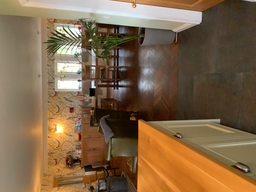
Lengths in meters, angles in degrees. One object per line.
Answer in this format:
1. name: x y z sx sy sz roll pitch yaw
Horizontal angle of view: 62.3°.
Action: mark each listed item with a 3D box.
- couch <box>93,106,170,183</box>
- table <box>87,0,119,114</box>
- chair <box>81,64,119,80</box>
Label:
1. couch: -0.010 0.780 3.660 0.820 1.030 0.930 -127 40 -63
2. table: -0.840 -1.290 6.820 1.010 0.810 3.610 -163 73 -72
3. chair: -0.860 -0.730 6.470 0.500 1.060 0.430 -163 74 -72
